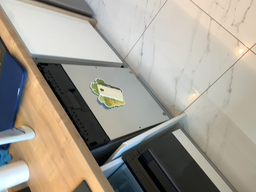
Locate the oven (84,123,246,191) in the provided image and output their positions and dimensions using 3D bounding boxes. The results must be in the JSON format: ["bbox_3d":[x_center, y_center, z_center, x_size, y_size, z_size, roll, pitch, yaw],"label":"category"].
[{"bbox_3d":[0.180,0.620,1.150,0.590,0.670,0.610,52,120,21],"label":"oven"}]
